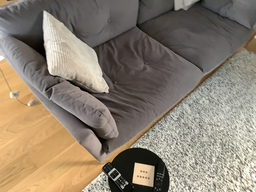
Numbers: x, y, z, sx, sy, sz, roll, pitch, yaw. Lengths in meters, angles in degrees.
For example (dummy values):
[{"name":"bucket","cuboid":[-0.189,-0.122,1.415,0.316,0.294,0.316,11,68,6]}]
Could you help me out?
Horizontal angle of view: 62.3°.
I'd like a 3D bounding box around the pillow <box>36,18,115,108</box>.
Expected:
[{"name":"pillow","cuboid":[-0.290,-0.200,1.230,0.170,0.430,0.360,-34,22,-3]}]
